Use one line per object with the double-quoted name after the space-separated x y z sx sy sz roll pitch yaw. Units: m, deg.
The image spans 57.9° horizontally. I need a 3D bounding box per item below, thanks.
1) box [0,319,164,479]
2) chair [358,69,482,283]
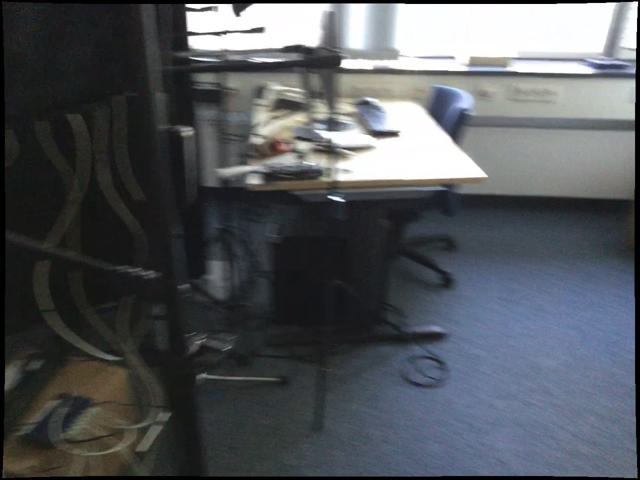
-0.789 0.531 1.630 0.499 0.340 0.540 2 29 4 "box"
0.420 -0.310 2.670 0.450 0.811 0.580 2 29 4 "chair"
